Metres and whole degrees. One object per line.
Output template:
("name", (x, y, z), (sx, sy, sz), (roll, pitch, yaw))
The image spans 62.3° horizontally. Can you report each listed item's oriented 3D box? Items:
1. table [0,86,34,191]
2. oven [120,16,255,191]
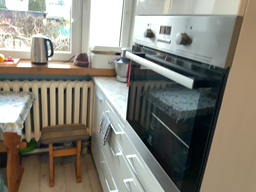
("table", (-1.250, 0.380, 1.490), (1.010, 0.750, 0.640), (0, 20, -19))
("oven", (0.370, 0.010, 0.910), (0.600, 0.590, 0.600), (-1, 20, -21))
